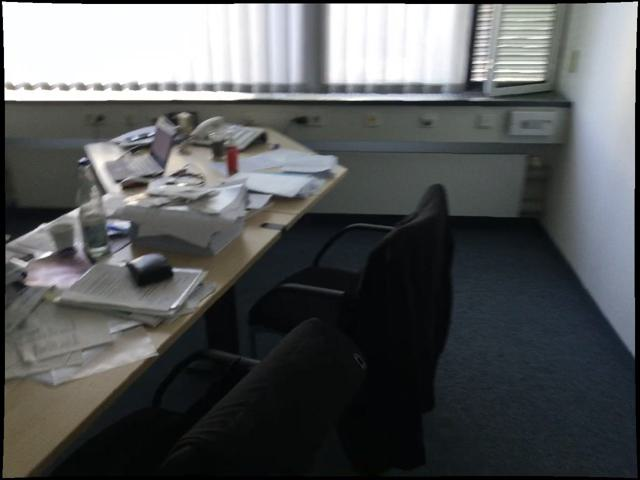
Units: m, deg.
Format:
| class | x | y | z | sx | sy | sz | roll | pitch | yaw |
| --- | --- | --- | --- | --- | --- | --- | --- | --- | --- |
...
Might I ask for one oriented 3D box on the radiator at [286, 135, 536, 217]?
| class | x | y | z | sx | sy | sz | roll | pitch | yaw |
| --- | --- | --- | --- | --- | --- | --- | --- | --- | --- |
| radiator | 0.529 | -0.390 | 3.540 | 1.429 | 0.440 | 0.230 | 1 | 25 | 6 |
